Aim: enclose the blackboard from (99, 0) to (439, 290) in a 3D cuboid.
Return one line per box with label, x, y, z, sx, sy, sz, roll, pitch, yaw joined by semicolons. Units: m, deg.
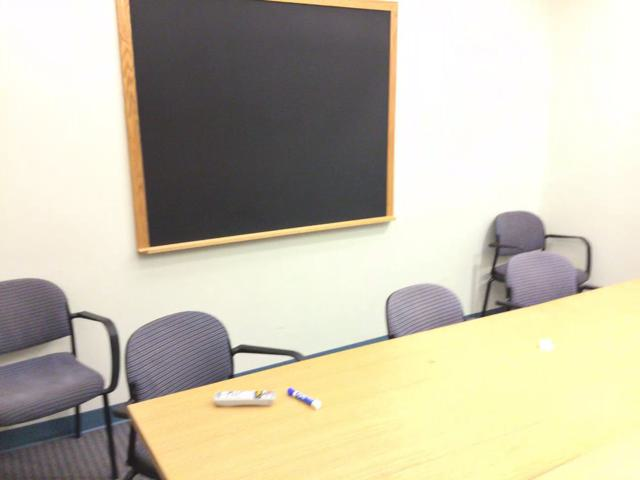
blackboard;-0.170;-0.640;2.960;1.640;1.490;0.290;-9;9;-27
